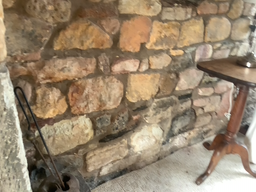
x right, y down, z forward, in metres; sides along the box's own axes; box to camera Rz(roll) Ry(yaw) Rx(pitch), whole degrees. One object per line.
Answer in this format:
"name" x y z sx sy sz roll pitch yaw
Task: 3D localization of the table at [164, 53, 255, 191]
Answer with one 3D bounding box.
"table" 0.640 0.160 1.350 0.560 0.720 0.480 -13 29 -32
